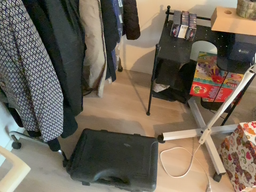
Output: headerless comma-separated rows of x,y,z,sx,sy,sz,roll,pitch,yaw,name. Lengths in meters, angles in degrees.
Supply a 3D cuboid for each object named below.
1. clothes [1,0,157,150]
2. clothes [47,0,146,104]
-0.240,-0.250,1.220,0.660,1.280,0.320,24,54,17,clothes
-0.210,-0.530,1.480,0.560,1.170,0.330,28,55,20,clothes
